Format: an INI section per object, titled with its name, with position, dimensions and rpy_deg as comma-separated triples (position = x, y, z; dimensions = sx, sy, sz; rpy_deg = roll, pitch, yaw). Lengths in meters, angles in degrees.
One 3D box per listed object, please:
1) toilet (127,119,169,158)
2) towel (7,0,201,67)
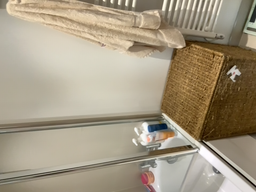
[toilet]
position = 0.140, 0.300, 1.520
dimensions = 0.120, 0.240, 0.220
rpy_deg = 43, 129, 55
[towel]
position = -0.070, -0.320, 1.040
dimensions = 0.150, 0.900, 0.290
rpy_deg = 43, 129, 55
